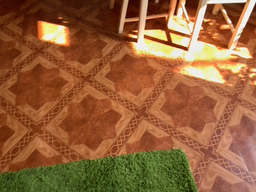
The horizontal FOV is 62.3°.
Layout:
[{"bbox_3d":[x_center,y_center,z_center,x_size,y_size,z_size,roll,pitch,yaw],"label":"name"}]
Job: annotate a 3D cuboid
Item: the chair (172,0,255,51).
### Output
[{"bbox_3d":[0.690,-0.850,1.460,0.460,0.940,0.550,-3,59,-5],"label":"chair"}]
